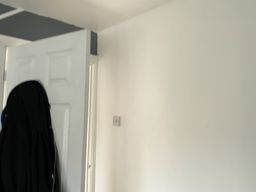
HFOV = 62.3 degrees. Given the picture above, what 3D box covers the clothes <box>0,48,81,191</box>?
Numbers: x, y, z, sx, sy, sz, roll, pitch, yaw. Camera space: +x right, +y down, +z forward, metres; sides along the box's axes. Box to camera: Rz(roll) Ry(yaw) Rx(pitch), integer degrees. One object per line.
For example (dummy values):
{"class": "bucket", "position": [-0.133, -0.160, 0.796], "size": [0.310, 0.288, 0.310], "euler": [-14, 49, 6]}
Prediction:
{"class": "clothes", "position": [-0.580, 0.400, 1.140], "size": [0.620, 1.160, 0.300], "euler": [-1, -4, 42]}
